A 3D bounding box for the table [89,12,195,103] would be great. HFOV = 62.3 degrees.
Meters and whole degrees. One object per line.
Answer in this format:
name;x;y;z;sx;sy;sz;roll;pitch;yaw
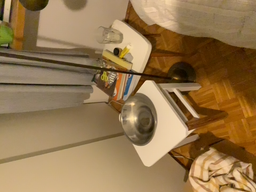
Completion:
table;0.070;-0.240;1.340;0.420;0.400;0.380;41;121;38
